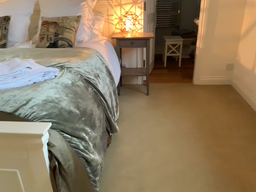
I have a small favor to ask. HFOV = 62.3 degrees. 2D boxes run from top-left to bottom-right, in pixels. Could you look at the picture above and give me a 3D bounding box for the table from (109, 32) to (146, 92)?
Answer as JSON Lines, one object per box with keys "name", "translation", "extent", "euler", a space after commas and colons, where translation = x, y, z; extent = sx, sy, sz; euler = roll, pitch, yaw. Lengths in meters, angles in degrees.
{"name": "table", "translation": [0.010, -0.430, 2.640], "extent": [0.390, 0.660, 0.340], "euler": [3, 25, 9]}
